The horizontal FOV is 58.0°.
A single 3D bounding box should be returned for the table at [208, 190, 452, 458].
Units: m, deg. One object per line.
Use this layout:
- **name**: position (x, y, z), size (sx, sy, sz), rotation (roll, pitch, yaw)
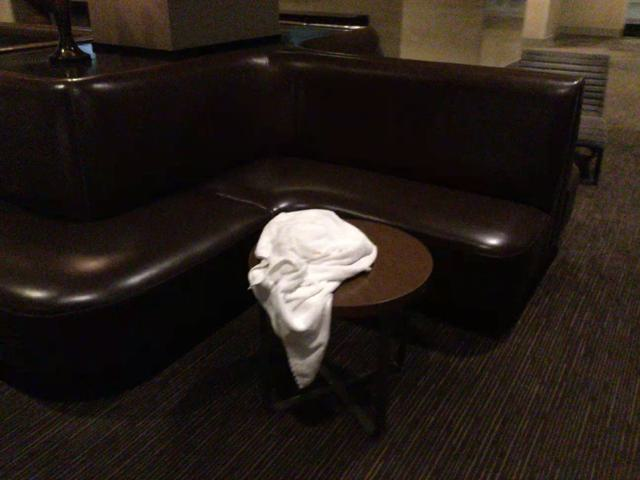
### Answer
- **table**: position (0.050, 0.220, 1.860), size (0.530, 0.520, 0.550), rotation (15, 31, 28)
